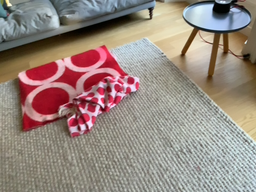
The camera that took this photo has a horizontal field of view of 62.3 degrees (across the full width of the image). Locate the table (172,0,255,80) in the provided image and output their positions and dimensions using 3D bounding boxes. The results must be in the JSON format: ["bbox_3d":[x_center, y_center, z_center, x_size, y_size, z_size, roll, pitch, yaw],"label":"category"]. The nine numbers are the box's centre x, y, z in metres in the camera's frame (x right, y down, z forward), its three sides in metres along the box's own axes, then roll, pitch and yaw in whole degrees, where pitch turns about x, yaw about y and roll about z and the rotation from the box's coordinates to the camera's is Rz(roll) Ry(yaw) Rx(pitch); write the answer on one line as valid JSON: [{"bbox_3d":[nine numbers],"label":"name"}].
[{"bbox_3d":[0.690,-0.480,1.770,0.430,0.390,0.440,-22,49,-15],"label":"table"}]
